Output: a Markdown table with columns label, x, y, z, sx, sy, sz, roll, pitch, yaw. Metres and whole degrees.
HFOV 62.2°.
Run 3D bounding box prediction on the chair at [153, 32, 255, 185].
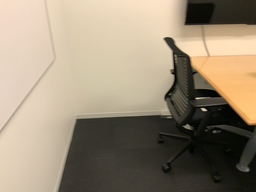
| label | x | y | z | sx | sy | sz | roll | pitch | yaw |
| --- | --- | --- | --- | --- | --- | --- | --- | --- | --- |
| chair | 0.660 | 0.070 | 1.850 | 0.750 | 1.050 | 0.810 | -1 | 29 | 0 |
